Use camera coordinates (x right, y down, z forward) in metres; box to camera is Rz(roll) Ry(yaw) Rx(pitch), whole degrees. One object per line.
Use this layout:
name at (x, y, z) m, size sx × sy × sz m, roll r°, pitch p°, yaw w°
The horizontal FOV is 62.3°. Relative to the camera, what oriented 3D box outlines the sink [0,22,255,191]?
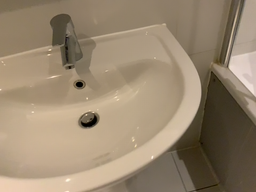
sink at (-0.120, 0.050, 0.550) m, size 0.620 × 0.170 × 0.470 m, roll -13°, pitch 45°, yaw -3°
